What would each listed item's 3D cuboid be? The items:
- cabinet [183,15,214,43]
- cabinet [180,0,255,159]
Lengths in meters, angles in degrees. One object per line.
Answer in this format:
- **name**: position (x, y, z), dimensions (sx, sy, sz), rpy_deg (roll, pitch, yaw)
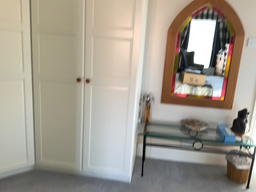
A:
- **cabinet**: position (1.390, -1.320, 4.270), dimensions (0.380, 0.440, 0.800), rpy_deg (5, 13, 5)
- **cabinet**: position (1.330, -0.600, 3.180), dimensions (0.600, 2.500, 1.520), rpy_deg (5, 13, 5)
